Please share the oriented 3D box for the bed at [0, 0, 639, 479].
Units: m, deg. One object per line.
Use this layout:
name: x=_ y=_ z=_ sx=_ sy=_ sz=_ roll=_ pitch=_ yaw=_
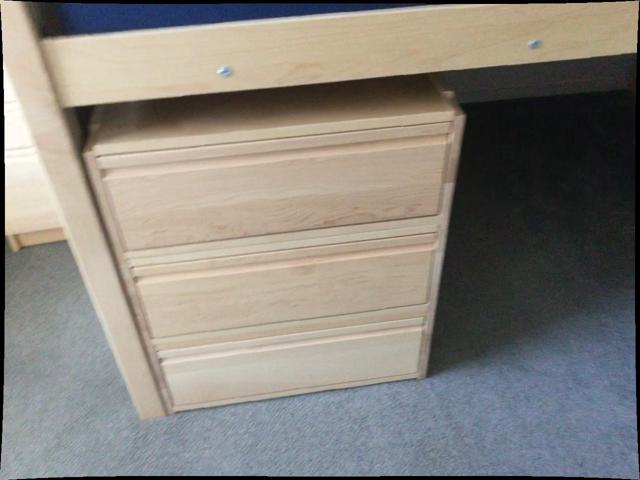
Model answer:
bed: x=0.509 y=-0.521 z=1.640 sx=2.236 sy=1.171 sz=1.691 roll=-8 pitch=40 yaw=-6
